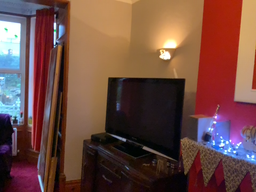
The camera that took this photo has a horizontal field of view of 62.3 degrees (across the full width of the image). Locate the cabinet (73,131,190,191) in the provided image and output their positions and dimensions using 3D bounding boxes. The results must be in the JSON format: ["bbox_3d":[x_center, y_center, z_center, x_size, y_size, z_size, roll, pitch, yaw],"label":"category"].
[{"bbox_3d":[-0.070,1.030,2.470,0.580,0.900,1.390,0,5,-38],"label":"cabinet"}]

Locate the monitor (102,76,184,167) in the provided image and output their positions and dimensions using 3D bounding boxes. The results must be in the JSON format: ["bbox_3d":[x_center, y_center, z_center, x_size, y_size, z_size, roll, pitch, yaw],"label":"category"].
[{"bbox_3d":[0.080,0.190,2.420,0.080,0.800,1.220,0,6,-38],"label":"monitor"}]
